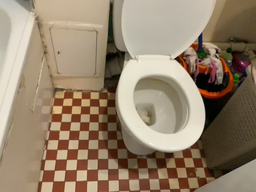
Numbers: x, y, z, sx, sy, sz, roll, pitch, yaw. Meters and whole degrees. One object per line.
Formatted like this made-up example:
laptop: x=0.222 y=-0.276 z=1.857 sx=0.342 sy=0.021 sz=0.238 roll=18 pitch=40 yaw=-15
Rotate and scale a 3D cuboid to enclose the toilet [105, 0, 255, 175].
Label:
toilet: x=0.130 y=-0.130 z=0.950 sx=0.410 sy=0.820 sz=0.730 roll=1 pitch=57 yaw=-9
